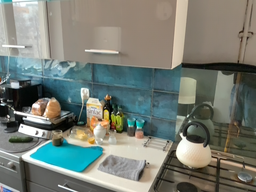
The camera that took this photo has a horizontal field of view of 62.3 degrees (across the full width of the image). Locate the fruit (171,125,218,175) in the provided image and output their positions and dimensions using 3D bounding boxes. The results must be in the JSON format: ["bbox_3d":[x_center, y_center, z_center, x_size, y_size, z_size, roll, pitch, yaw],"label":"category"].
[{"bbox_3d":[0.410,0.310,1.280,0.220,0.140,0.270,9,18,24],"label":"fruit"}]
